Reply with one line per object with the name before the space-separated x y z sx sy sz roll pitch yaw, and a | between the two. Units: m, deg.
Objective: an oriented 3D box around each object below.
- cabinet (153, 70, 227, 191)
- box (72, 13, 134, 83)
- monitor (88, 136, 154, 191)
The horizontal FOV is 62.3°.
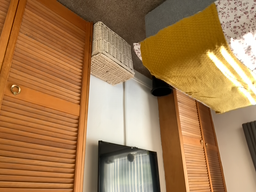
cabinet | 0.920 0.720 3.070 0.320 1.850 1.270 -21 150 36
box | -0.240 -0.450 2.110 0.320 0.420 0.500 -23 149 38
monitor | -0.020 0.710 2.000 0.030 0.530 0.890 -18 152 35
